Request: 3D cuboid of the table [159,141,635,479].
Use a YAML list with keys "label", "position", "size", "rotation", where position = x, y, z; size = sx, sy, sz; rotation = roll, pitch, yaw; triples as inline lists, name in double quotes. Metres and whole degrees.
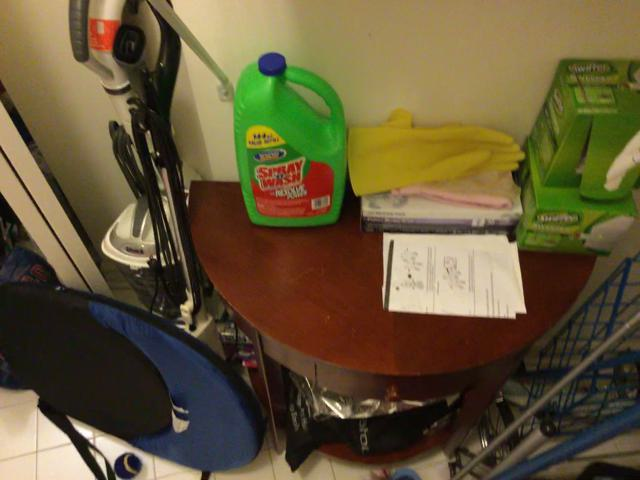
- label: "table"
  position: [0.110, 0.240, 1.260]
  size: [0.660, 0.820, 0.420]
  rotation: [2, 55, 1]
